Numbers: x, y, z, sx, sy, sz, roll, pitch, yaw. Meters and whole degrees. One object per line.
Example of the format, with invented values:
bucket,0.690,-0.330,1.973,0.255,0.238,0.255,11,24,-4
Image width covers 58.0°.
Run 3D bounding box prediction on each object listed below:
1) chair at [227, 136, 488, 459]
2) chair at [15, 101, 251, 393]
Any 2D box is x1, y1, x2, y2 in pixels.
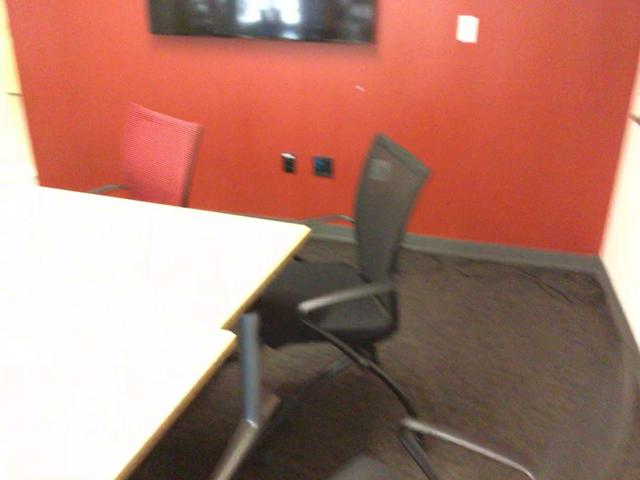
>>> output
chair,0.070,0.140,1.890,0.650,0.860,0.490,-5,22,-18
chair,-0.670,-0.030,2.190,0.570,0.870,0.580,19,26,37
